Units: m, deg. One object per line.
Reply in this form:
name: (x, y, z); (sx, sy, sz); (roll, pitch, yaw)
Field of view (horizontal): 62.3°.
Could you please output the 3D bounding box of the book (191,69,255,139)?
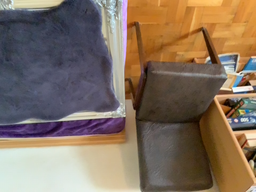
book: (0.720, 0.050, 1.370); (0.470, 0.300, 0.320); (-2, 137, -4)
